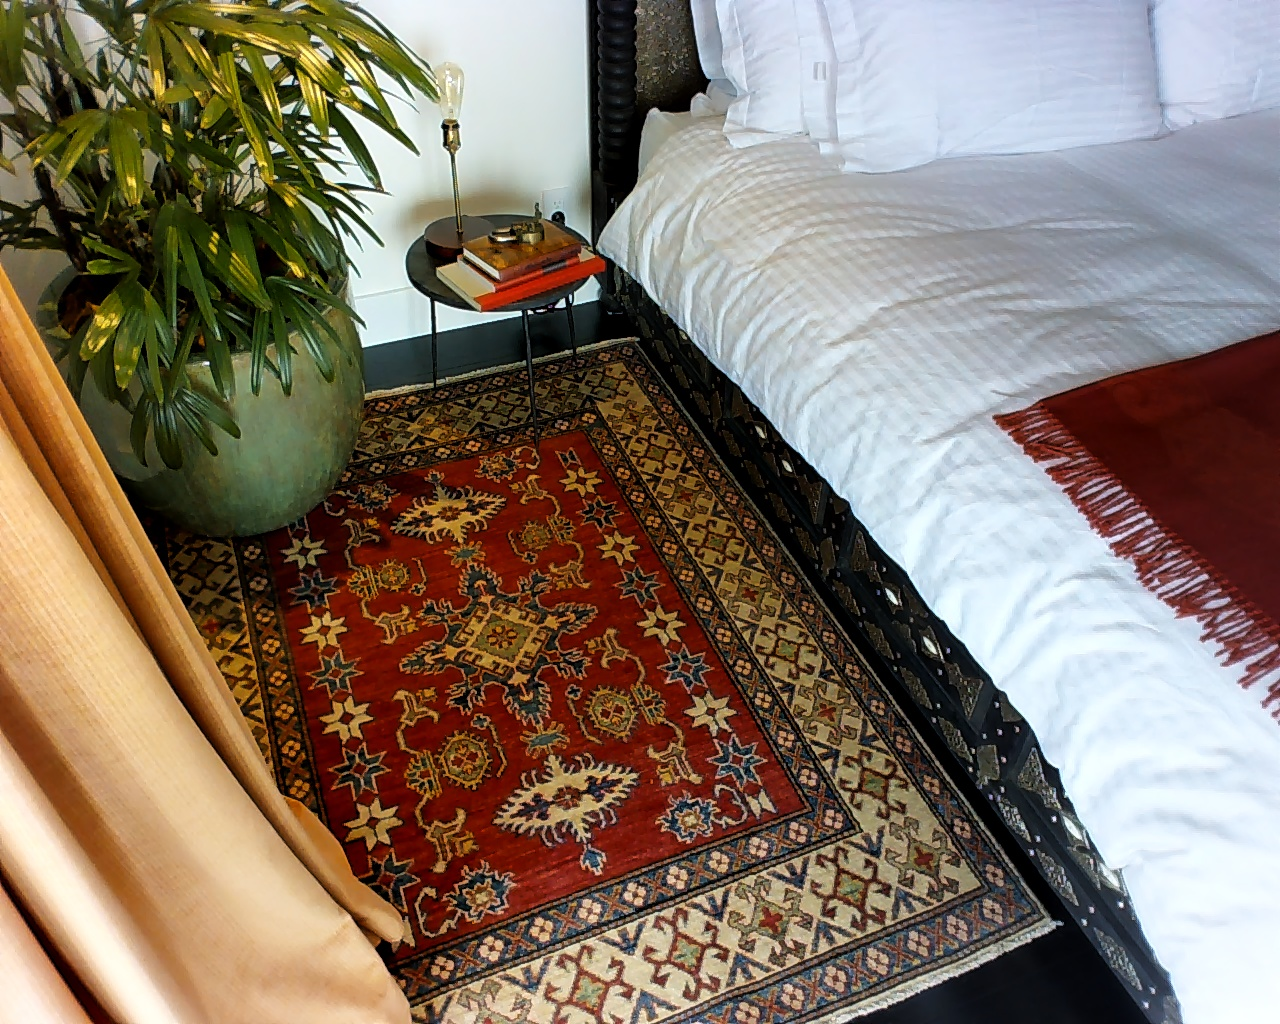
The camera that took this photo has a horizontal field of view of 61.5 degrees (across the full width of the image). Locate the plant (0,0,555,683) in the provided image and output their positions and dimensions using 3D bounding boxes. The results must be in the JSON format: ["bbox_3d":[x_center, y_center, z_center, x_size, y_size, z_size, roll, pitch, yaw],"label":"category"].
[{"bbox_3d":[-0.790,-0.640,1.880,0.960,1.460,0.910,-16,45,-16],"label":"plant"}]

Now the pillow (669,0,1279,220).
[{"bbox_3d":[0.990,-1.140,2.400,1.720,0.410,0.660,-15,45,-16],"label":"pillow"}]
